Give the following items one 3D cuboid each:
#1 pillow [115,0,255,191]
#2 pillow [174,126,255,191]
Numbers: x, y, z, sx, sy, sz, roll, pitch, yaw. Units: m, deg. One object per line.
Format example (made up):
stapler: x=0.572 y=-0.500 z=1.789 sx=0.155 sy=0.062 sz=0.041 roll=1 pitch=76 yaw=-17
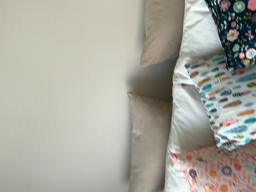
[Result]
pillow: x=0.290 y=-0.140 z=0.940 sx=0.690 sy=0.410 sz=1.430 roll=-166 pitch=80 yaw=-70
pillow: x=0.380 y=0.360 z=0.810 sx=0.290 sy=0.280 sz=0.440 roll=-173 pitch=87 yaw=-71
